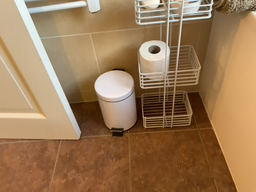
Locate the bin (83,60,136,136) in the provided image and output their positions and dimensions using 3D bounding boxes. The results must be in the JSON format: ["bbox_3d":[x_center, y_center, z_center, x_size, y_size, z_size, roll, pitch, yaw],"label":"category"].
[{"bbox_3d":[-0.070,0.010,0.980,0.190,0.240,0.240,-4,46,3],"label":"bin"}]
